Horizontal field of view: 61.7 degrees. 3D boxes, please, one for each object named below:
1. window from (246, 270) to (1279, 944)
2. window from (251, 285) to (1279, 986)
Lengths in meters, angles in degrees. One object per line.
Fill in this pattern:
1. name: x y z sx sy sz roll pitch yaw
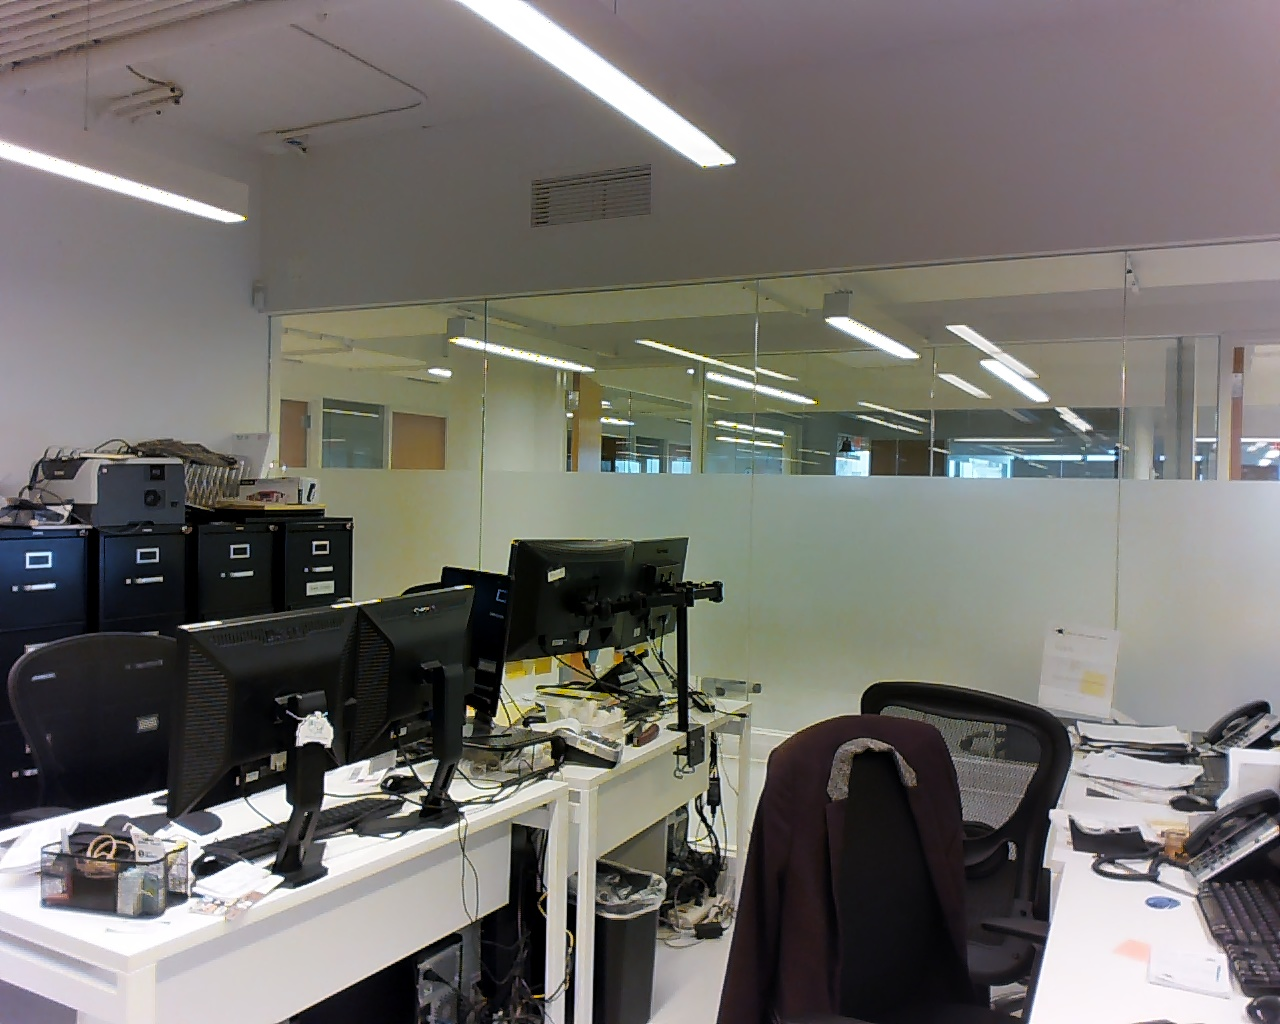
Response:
1. window: 0.400 0.240 3.940 4.849 1.950 0.180 1 0 27
2. window: 0.460 0.330 3.950 5.009 2.060 0.140 1 0 27
